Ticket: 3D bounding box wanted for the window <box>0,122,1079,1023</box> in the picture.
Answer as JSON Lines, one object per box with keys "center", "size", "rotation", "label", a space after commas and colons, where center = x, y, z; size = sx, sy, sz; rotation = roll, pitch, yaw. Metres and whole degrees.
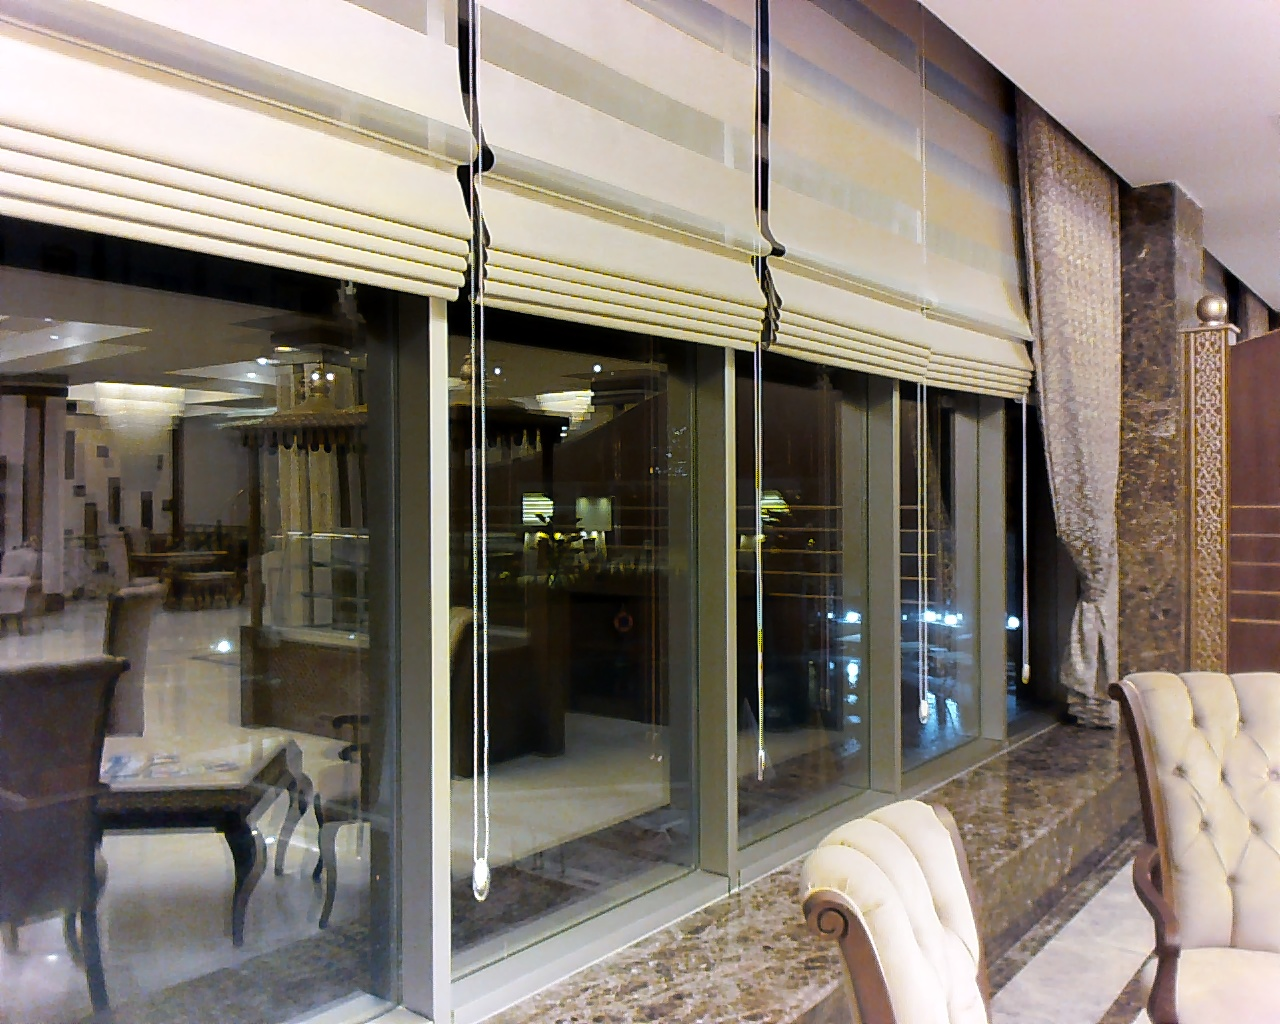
{"center": [-0.550, 0.320, 2.090], "size": [0.240, 1.741, 7.679], "rotation": [0, 0, 40], "label": "window"}
